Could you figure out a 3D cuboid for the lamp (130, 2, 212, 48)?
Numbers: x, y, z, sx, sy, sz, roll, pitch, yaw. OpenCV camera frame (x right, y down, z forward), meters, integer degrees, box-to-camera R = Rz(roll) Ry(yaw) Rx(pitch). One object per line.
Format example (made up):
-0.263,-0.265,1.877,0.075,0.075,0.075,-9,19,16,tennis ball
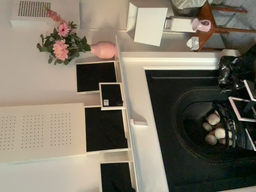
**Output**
0.370,-0.630,1.920,0.260,0.640,0.240,115,151,-60,lamp

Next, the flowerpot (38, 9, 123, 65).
-0.400,-0.490,1.820,0.280,0.640,0.340,116,149,-61,flowerpot

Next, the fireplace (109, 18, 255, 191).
0.570,0.240,1.740,0.660,1.240,1.570,117,149,-60,fireplace
